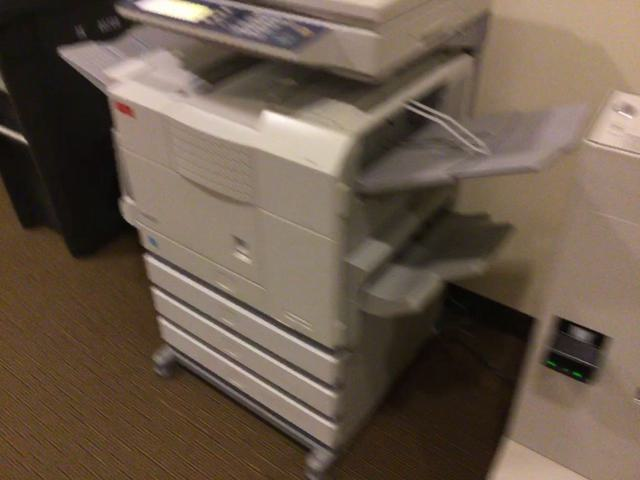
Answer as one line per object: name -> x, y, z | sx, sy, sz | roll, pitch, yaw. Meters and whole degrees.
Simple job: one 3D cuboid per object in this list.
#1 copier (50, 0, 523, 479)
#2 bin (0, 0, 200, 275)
copier -> -0.050, -0.130, 1.380 | 0.660, 1.100, 0.650 | 25, 42, 28
bin -> -0.820, -0.470, 1.930 | 0.470, 0.910, 0.570 | 25, 42, 28
